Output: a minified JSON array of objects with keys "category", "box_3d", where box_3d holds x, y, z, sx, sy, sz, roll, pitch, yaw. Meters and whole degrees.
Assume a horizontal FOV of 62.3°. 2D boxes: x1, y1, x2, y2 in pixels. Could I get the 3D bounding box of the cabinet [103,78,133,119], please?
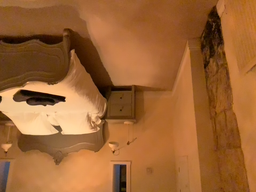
[{"category":"cabinet","box_3d":[-0.170,0.060,3.930,0.480,0.660,0.390,-2,164,7]}]
